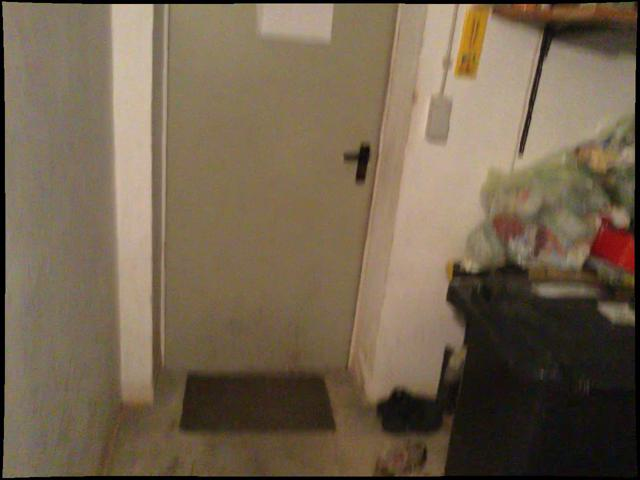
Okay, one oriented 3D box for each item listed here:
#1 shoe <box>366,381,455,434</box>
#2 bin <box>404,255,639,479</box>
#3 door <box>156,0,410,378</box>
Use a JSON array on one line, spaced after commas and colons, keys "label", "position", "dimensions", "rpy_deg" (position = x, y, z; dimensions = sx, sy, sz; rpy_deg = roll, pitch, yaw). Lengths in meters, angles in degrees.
[{"label": "shoe", "position": [0.360, 0.671, 2.330], "dimensions": [0.300, 0.080, 0.210], "rpy_deg": [1, 23, -9]}, {"label": "bin", "position": [0.589, 0.571, 1.510], "dimensions": [0.510, 0.901, 0.560], "rpy_deg": [1, 23, -9]}, {"label": "door", "position": [-0.170, -0.350, 2.210], "dimensions": [0.839, 1.962, 0.200], "rpy_deg": [1, 23, -9]}]
